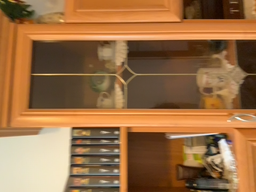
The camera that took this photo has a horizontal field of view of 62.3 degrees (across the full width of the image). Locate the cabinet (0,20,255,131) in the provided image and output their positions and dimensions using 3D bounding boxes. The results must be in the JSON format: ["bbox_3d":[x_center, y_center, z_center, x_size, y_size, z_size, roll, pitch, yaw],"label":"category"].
[{"bbox_3d":[0.520,-0.050,0.940,0.390,2.080,0.400,83,-172,-81],"label":"cabinet"}]

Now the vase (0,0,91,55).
[{"bbox_3d":[-0.520,-0.430,1.070,0.310,0.600,0.360,81,-170,-83],"label":"vase"}]
